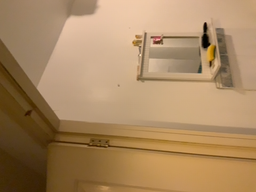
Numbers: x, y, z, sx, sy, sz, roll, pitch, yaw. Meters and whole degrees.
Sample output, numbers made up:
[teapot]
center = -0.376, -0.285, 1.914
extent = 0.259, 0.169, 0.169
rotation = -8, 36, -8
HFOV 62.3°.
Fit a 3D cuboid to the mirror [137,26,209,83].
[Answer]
[mirror]
center = 0.290, -0.290, 1.380
extent = 0.050, 0.410, 0.440
rotation = 80, -164, -57
